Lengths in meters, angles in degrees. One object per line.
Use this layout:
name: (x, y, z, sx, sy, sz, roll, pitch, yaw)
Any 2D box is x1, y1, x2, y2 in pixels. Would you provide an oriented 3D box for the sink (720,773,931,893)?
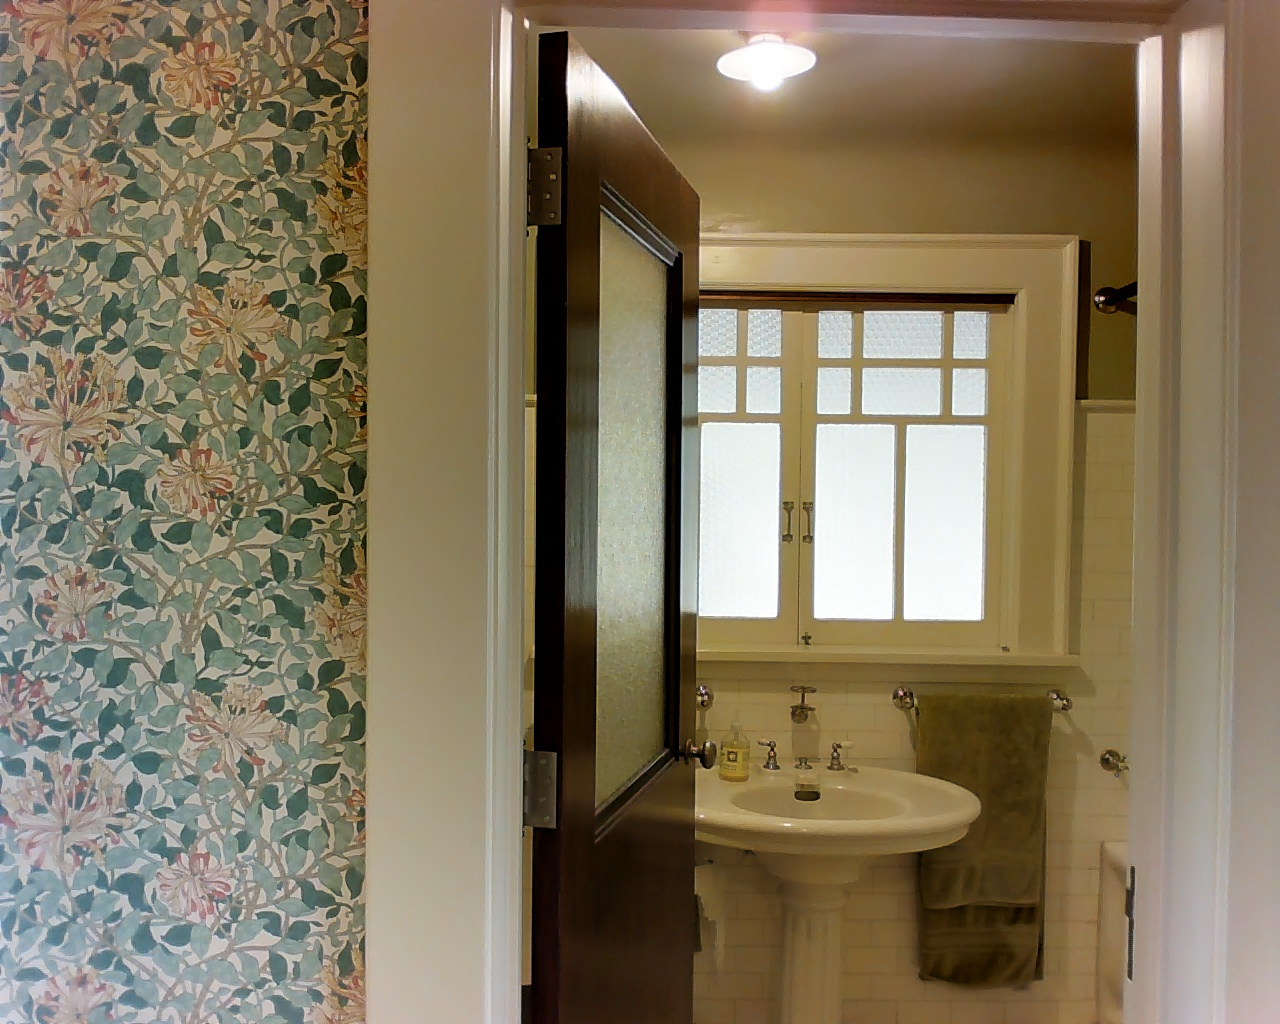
sink: (0.450, 0.800, 2.720, 0.470, 0.180, 0.370, 1, 1, 1)

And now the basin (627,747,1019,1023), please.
basin: (0.420, 1.080, 2.790, 0.890, 0.790, 0.630, 1, 1, 1)

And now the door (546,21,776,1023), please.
door: (0.070, 0.420, 1.830, 0.080, 2.140, 0.830, 1, 1, 22)
